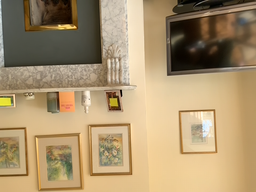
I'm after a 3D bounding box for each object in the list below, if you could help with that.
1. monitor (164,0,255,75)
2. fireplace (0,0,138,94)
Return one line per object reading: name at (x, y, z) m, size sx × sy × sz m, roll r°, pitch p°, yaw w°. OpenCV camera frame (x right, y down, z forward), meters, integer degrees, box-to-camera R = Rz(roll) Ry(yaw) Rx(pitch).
monitor at (0.790, -0.560, 1.910) m, size 0.900 × 0.670 × 0.040 m, roll -2°, pitch -177°, yaw 23°
fireplace at (-0.750, -0.660, 1.900) m, size 1.610 × 1.240 × 0.660 m, roll -3°, pitch -178°, yaw 1°
